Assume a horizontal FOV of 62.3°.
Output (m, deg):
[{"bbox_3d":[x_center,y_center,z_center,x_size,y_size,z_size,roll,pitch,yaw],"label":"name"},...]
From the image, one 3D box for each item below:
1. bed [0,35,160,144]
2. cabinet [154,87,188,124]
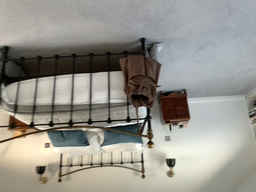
[{"bbox_3d":[-0.550,0.120,2.890,1.630,0.720,2.010,-3,161,-1],"label":"bed"},{"bbox_3d":[0.700,0.170,3.570,0.470,0.510,0.370,-4,161,3],"label":"cabinet"}]
